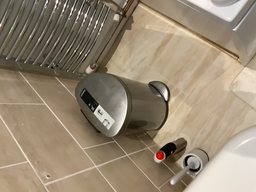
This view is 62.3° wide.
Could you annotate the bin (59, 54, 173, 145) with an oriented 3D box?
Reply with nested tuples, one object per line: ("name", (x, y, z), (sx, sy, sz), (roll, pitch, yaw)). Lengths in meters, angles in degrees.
("bin", (-0.030, 0.020, 1.000), (0.260, 0.440, 0.240), (44, 108, 25))
